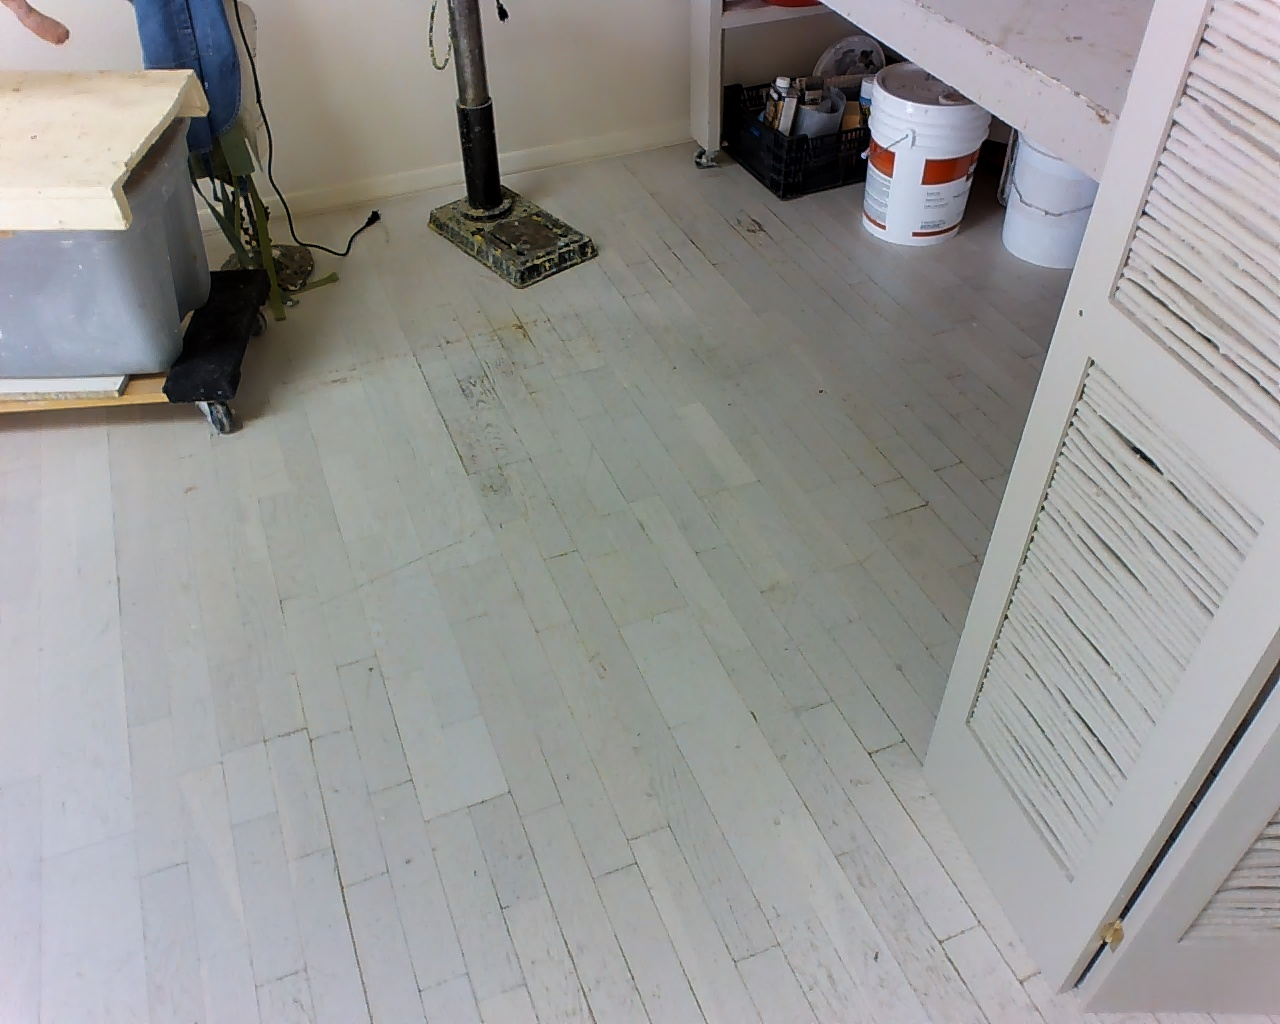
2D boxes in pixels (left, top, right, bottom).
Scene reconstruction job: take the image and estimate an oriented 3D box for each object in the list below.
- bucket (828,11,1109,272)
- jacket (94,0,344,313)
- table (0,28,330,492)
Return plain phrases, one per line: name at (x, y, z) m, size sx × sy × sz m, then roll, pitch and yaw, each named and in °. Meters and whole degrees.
bucket at (0.870, -1.010, 2.880) m, size 0.590 × 0.410 × 0.400 m, roll -34°, pitch 53°, yaw -30°
jacket at (-0.990, -1.060, 2.410) m, size 0.350 × 1.150 × 0.330 m, roll -16°, pitch 46°, yaw -15°
table at (-1.280, -0.530, 2.210) m, size 0.970 × 0.660 × 0.700 m, roll 1°, pitch 44°, yaw 3°
